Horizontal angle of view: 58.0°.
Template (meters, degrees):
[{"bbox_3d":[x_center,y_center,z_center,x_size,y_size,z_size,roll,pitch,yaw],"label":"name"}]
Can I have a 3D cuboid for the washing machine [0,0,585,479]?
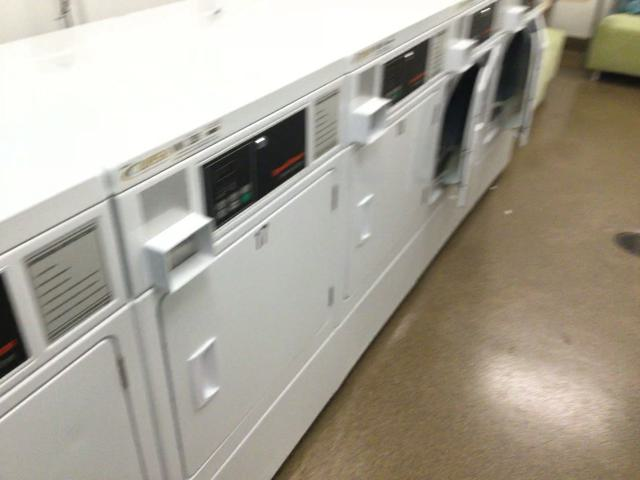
[{"bbox_3d":[-0.040,-0.170,1.830,0.920,1.180,3.270,18,39,26],"label":"washing machine"}]
